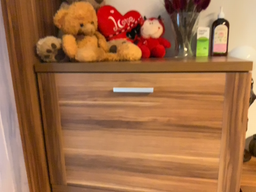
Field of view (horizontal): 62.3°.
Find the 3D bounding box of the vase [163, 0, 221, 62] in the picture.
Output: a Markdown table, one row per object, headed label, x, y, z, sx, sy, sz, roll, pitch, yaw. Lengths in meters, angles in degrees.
| label | x | y | z | sx | sy | sz | roll | pitch | yaw |
| --- | --- | --- | --- | --- | --- | --- | --- | --- | --- |
| vase | 0.300 | -0.340 | 1.040 | 0.240 | 0.330 | 0.160 | 1 | 13 | 7 |
